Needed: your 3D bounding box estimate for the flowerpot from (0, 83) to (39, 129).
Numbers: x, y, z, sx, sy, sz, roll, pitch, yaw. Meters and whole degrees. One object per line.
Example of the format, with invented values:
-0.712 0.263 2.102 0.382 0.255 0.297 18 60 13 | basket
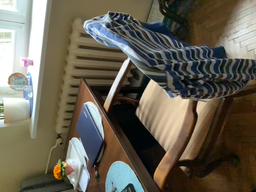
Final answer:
-1.180 0.080 1.690 0.380 0.810 0.170 56 134 39 | flowerpot
